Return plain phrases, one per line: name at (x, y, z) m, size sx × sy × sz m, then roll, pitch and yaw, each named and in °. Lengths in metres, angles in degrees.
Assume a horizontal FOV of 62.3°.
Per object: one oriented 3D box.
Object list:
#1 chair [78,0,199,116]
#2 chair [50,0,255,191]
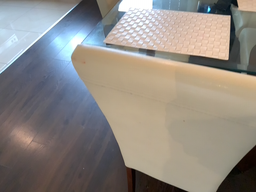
chair at (0.110, -0.410, 1.380) m, size 0.590 × 0.990 × 0.470 m, roll 8°, pitch 47°, yaw 13°
chair at (0.220, 0.130, 0.850) m, size 0.480 × 1.000 × 0.590 m, roll 15°, pitch 48°, yaw 18°
